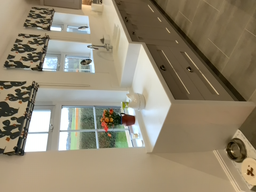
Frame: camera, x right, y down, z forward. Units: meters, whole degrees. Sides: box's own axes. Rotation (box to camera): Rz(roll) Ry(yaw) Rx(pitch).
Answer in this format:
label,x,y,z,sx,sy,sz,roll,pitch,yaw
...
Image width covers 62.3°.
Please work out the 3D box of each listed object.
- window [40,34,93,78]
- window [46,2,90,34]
label,x,y,z,sx,sy,sz,roll,pitch,yaw
window,-0.930,-0.640,3.290,0.950,0.710,0.120,-104,22,-44
window,-1.160,-1.540,4.150,0.970,0.760,0.110,-104,21,-43
